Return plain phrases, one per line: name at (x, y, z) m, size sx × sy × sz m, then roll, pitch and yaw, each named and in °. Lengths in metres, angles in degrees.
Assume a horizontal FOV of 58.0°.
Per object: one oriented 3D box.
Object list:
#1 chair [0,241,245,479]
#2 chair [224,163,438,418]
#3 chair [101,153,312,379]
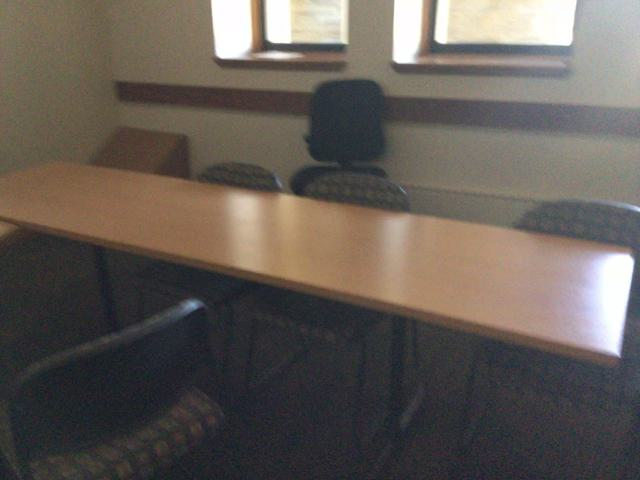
chair at (-0.550, 0.440, 1.370) m, size 0.510 × 0.680 × 0.540 m, roll -16°, pitch 24°, yaw -42°
chair at (0.050, 0.120, 1.970) m, size 0.510 × 0.640 × 0.530 m, roll 10°, pitch 20°, yaw 25°
chair at (-0.390, 0.050, 2.140) m, size 0.530 × 0.630 × 0.510 m, roll 10°, pitch 20°, yaw 25°
